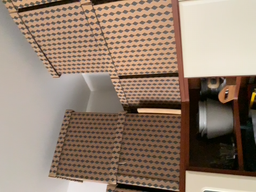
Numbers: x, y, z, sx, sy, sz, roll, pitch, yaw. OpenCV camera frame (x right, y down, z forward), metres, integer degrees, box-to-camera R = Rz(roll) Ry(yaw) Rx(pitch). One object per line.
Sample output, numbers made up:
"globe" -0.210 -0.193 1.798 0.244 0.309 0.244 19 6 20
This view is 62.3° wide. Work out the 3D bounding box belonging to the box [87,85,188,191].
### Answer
"box" 0.100 0.240 1.150 0.420 0.410 0.460 52 -138 -62
